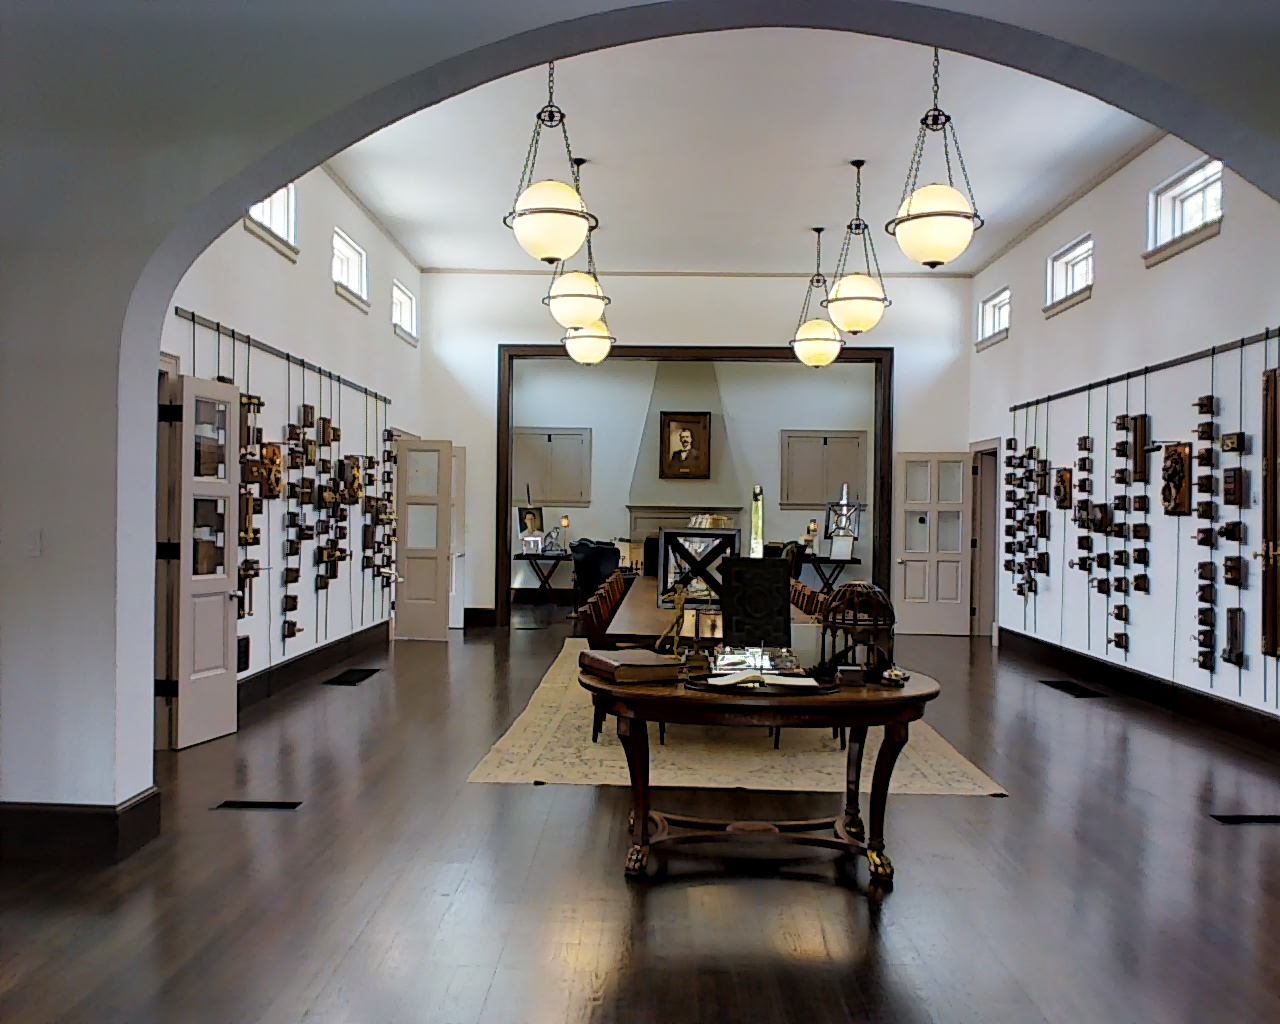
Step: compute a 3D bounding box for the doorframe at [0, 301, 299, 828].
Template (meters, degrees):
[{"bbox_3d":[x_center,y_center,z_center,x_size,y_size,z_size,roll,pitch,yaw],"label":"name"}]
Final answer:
[{"bbox_3d":[-2.770,0.230,5.980,0.950,2.370,2.290,1,0,1],"label":"doorframe"}]
